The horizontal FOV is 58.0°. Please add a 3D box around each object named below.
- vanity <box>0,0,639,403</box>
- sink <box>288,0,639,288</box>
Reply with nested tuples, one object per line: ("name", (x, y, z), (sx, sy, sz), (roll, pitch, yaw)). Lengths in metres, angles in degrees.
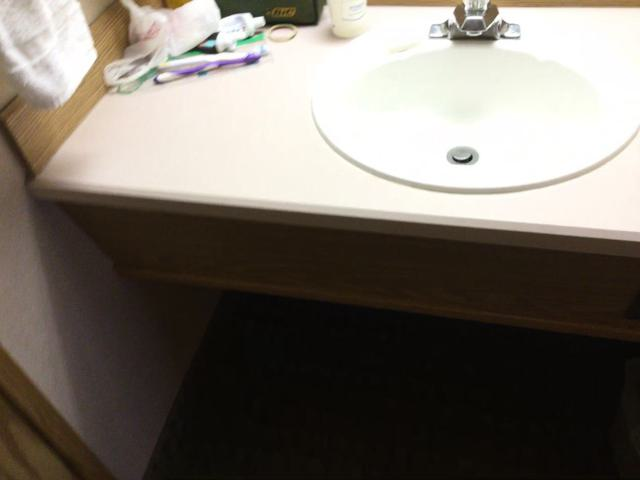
("vanity", (0.230, -0.160, 0.920), (1.220, 0.480, 0.600), (3, 50, 15))
("sink", (0.230, -0.170, 0.890), (0.440, 0.180, 0.430), (3, 50, 15))
